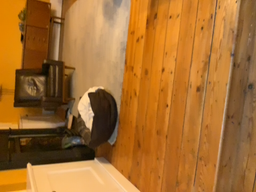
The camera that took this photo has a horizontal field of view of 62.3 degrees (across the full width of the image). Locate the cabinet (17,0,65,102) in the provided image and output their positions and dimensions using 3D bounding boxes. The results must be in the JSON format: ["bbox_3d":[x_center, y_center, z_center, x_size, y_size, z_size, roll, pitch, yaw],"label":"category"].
[{"bbox_3d":[-1.930,-0.960,4.670,0.530,0.800,2.110,12,98,61],"label":"cabinet"}]

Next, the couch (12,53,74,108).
[{"bbox_3d":[-1.500,-0.200,3.690,0.890,0.880,0.690,-19,70,59],"label":"couch"}]
